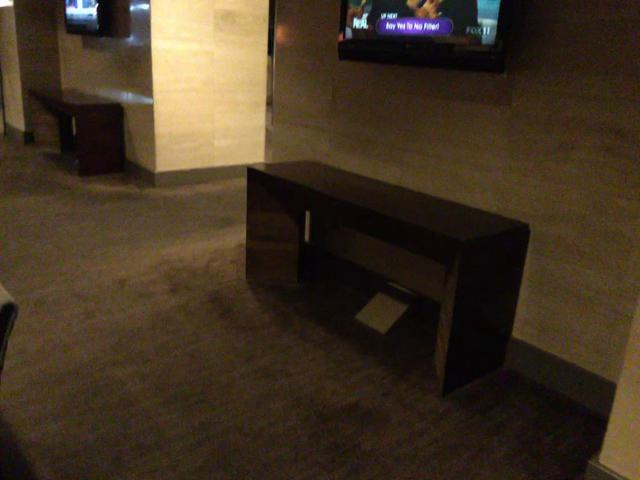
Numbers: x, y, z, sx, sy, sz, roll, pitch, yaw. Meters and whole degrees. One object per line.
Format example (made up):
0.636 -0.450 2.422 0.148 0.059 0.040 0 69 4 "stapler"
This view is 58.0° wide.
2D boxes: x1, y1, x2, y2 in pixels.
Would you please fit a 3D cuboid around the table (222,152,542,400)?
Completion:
0.180 0.050 3.040 0.540 0.720 1.680 -5 20 -40 "table"
